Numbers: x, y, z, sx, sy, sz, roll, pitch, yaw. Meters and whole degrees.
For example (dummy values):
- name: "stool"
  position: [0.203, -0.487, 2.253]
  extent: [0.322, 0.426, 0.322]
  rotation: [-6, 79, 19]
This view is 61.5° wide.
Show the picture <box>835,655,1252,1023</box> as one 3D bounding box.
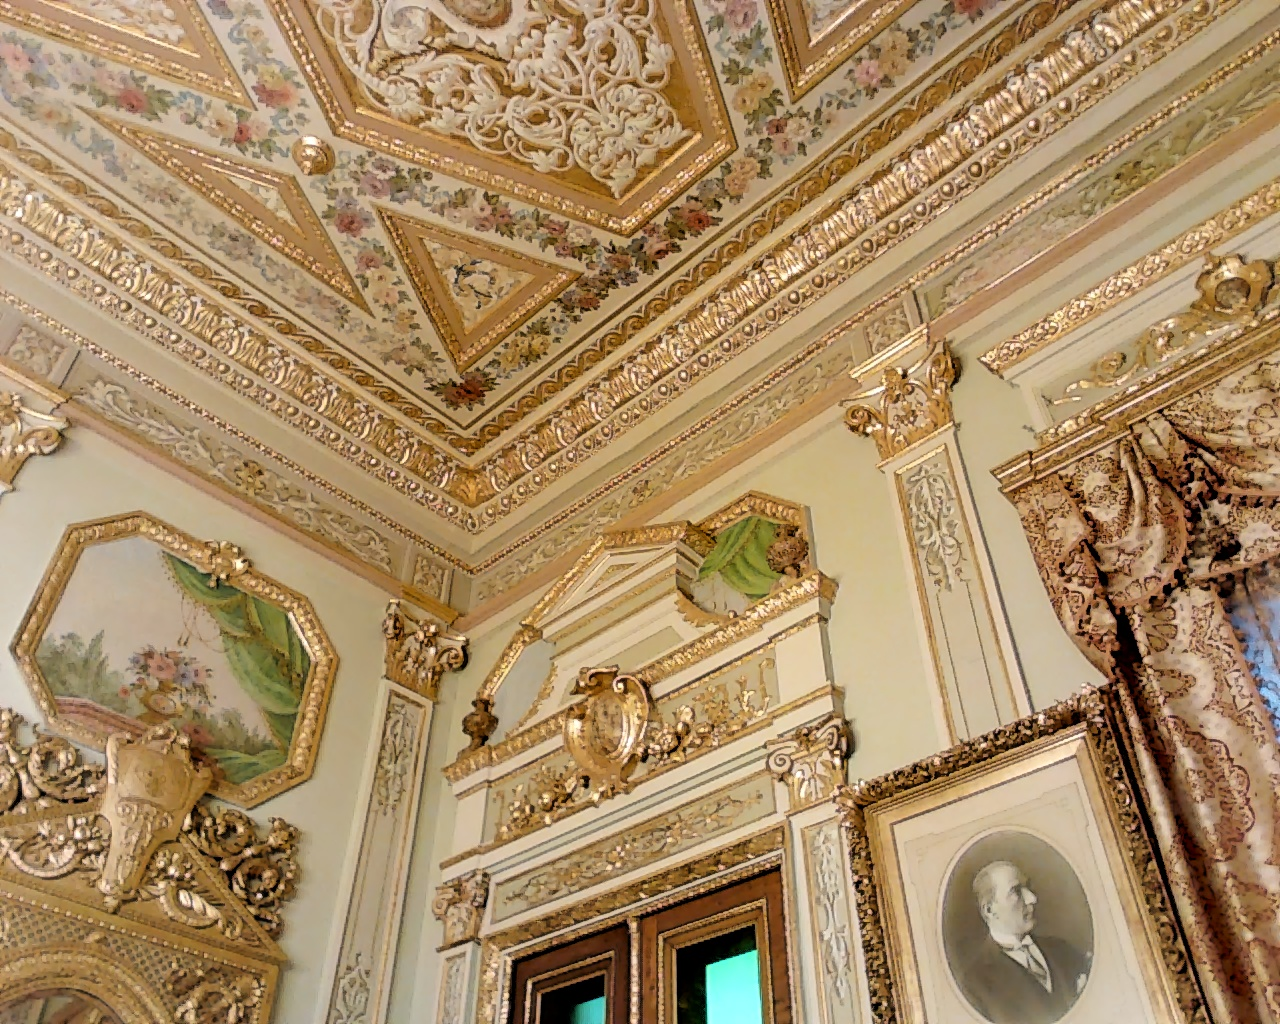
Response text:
- name: "picture"
  position: [1.129, 1.211, 3.220]
  extent: [1.040, 1.301, 0.200]
  rotation: [-32, -52, 32]

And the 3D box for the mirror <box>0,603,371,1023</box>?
- name: "mirror"
  position: [-2.058, 2.021, 3.920]
  extent: [0.200, 3.151, 1.730]
  rotation: [-32, -52, 32]
